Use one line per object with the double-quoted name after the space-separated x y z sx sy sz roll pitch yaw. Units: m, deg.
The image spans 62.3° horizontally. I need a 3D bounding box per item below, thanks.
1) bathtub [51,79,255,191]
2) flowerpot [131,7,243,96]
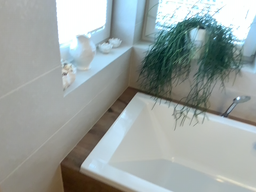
0.720 0.610 1.250 2.060 0.590 0.900 17 33 16 "bathtub"
0.410 -0.350 1.550 0.650 0.420 0.330 19 34 19 "flowerpot"
